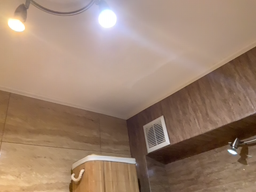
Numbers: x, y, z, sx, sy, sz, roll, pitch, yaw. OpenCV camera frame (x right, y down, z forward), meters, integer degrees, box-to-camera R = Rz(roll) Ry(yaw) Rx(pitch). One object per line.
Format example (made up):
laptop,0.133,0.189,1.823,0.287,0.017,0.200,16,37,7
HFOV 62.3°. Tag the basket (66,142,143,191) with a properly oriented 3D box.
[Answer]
basket,-0.140,0.440,1.220,0.340,0.240,0.250,18,-39,-39
